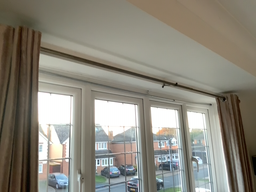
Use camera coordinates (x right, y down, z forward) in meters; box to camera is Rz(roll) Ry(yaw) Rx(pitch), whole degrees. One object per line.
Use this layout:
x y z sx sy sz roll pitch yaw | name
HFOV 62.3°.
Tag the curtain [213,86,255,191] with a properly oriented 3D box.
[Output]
1.080 0.620 2.100 0.160 1.400 0.310 -14 -17 42 | curtain
